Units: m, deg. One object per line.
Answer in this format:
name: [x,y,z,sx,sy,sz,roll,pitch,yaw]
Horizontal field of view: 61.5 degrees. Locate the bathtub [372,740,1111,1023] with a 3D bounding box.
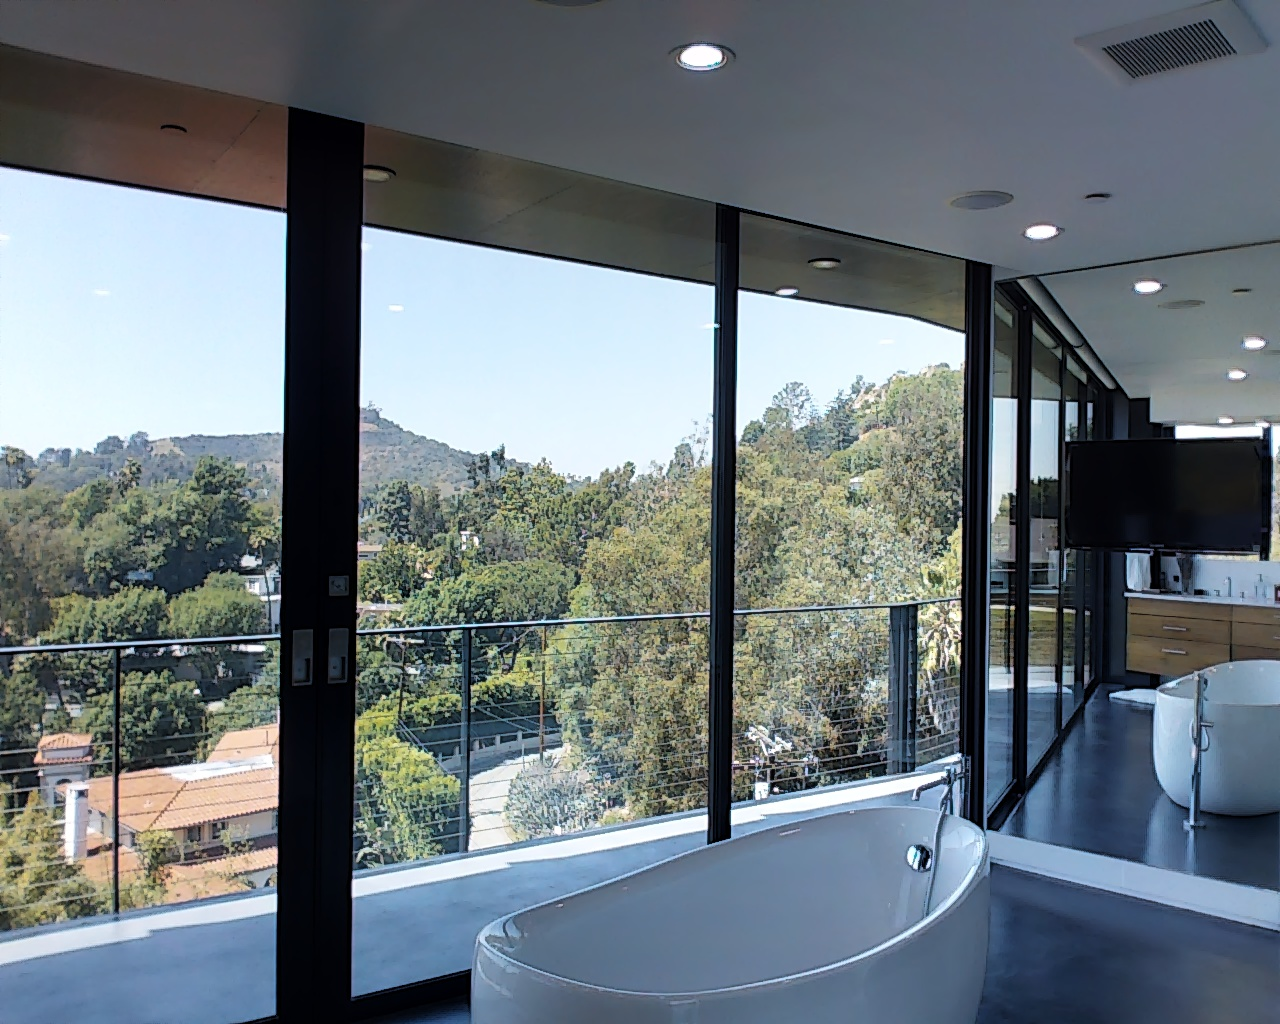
bathtub: [0.420,1.200,2.870,0.860,0.760,2.060,0,0,44]

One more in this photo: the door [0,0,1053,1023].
door: [-0.640,0.180,3.310,5.560,2.800,0.370,1,0,-33]
